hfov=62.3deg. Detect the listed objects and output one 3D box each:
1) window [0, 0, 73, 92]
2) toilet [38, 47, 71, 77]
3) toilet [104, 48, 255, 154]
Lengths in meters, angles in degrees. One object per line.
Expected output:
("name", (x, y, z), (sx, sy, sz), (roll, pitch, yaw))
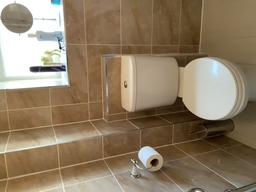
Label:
("window", (-0.930, -0.530, 1.490), (0.120, 0.990, 1.000), (-155, 62, -63))
("toilet", (-0.570, -0.270, 1.640), (0.220, 0.210, 0.210), (-156, 63, -64))
("toilet", (0.420, -0.080, 1.350), (0.690, 0.960, 0.430), (-152, 59, -63))
